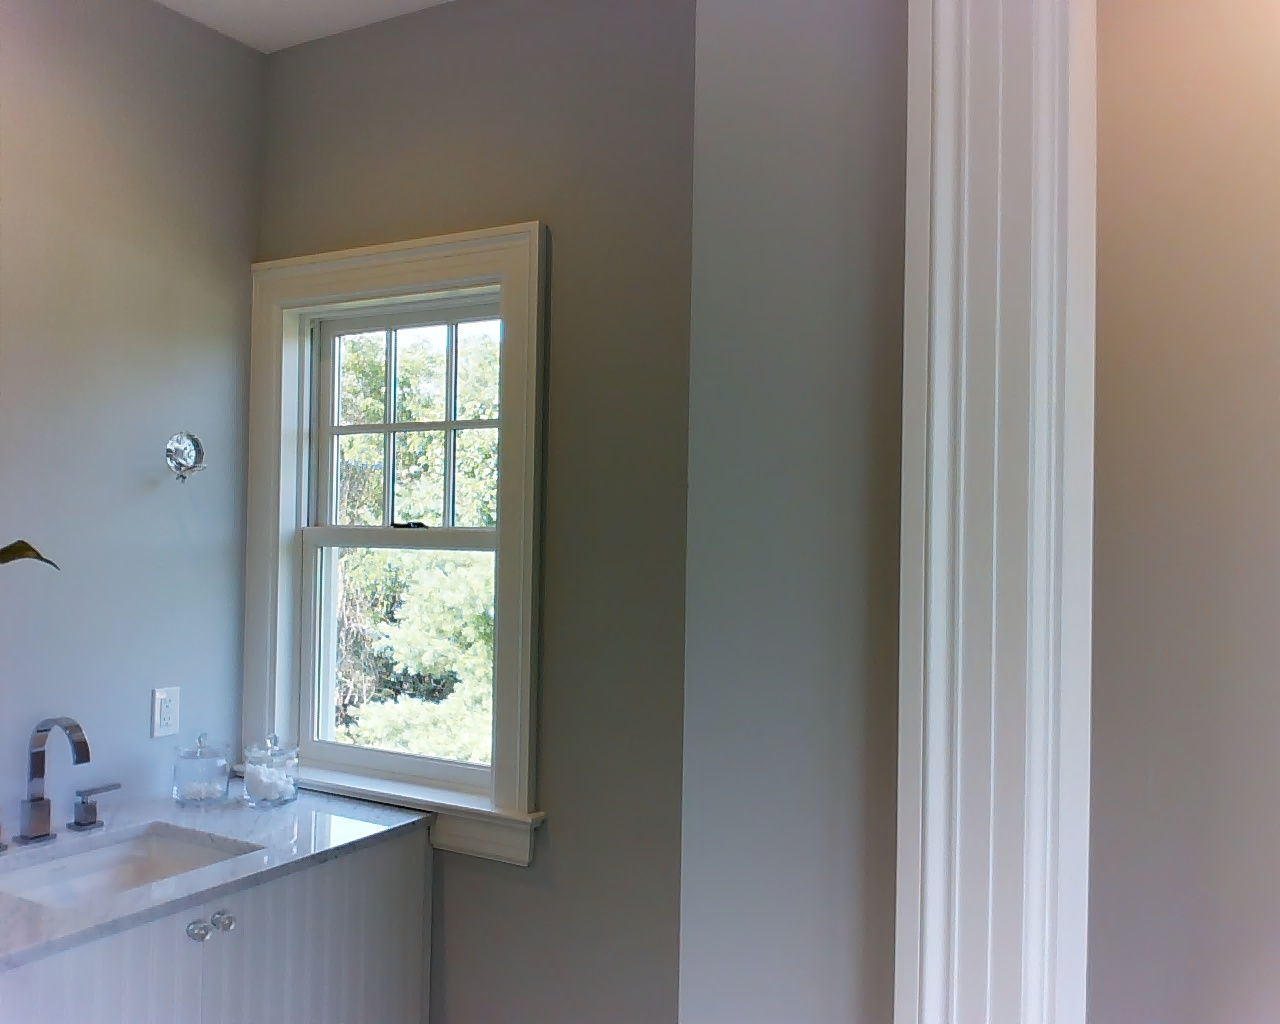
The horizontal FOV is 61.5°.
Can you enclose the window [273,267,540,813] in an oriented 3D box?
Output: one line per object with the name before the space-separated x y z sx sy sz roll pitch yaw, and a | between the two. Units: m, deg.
window | -0.580 0.060 2.620 0.680 1.210 0.160 0 -1 29
